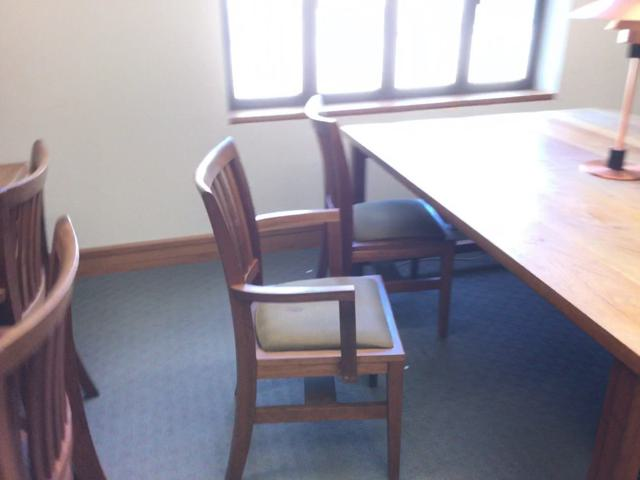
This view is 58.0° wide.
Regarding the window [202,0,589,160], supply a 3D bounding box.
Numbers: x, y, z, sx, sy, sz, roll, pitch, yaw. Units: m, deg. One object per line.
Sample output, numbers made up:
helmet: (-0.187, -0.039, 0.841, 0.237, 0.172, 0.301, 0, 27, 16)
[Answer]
window: (0.400, -1.190, 2.850, 1.890, 1.240, 0.420, -11, 21, -15)
